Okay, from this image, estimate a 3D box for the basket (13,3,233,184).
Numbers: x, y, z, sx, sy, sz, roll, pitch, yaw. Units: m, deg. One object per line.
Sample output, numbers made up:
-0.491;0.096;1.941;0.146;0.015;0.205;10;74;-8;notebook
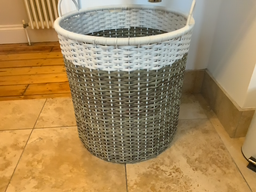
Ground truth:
-0.020;-0.050;0.820;0.500;0.480;0.500;-3;33;-3;basket
